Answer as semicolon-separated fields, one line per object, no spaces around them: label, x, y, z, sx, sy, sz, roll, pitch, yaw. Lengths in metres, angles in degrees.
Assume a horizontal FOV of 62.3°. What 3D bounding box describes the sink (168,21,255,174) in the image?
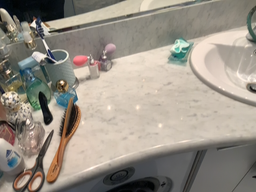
sink;0.500;-0.060;0.780;0.520;0.190;0.470;-16;47;-13
